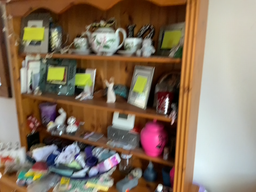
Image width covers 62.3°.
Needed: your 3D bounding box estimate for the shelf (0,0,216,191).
[{"bbox_3d":[-0.180,-0.060,1.160,1.110,0.960,0.390,7,14,26],"label":"shelf"}]
